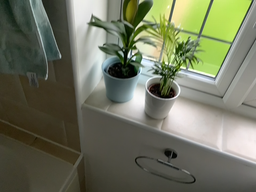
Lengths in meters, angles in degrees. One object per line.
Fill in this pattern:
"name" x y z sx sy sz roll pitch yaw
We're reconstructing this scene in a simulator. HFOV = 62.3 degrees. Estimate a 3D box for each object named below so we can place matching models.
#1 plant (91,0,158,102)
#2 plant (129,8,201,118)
"plant" -0.020 -0.170 0.710 0.150 0.350 0.140 19 45 11
"plant" 0.110 -0.100 0.700 0.140 0.300 0.150 20 45 12
